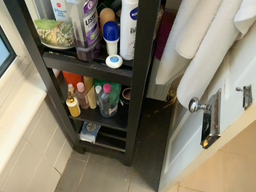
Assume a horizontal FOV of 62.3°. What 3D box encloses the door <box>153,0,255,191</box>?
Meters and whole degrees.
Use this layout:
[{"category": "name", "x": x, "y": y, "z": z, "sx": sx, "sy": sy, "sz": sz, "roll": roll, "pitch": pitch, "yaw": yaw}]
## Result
[{"category": "door", "x": 0.340, "y": -0.210, "z": 0.660, "sx": 0.050, "sy": 2.110, "sz": 0.710, "roll": 15, "pitch": 58, "yaw": 5}]
